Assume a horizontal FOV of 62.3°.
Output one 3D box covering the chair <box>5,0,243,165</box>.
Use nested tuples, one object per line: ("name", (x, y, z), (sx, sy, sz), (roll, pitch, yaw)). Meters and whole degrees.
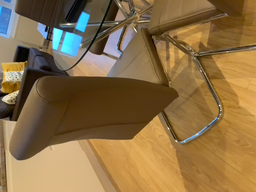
("chair", (0.000, -0.030, 1.080), (0.430, 0.990, 0.570), (-49, 45, 35))

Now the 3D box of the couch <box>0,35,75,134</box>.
("couch", (-1.710, -0.260, 3.630), (1.660, 0.870, 1.020), (39, 112, 51))
